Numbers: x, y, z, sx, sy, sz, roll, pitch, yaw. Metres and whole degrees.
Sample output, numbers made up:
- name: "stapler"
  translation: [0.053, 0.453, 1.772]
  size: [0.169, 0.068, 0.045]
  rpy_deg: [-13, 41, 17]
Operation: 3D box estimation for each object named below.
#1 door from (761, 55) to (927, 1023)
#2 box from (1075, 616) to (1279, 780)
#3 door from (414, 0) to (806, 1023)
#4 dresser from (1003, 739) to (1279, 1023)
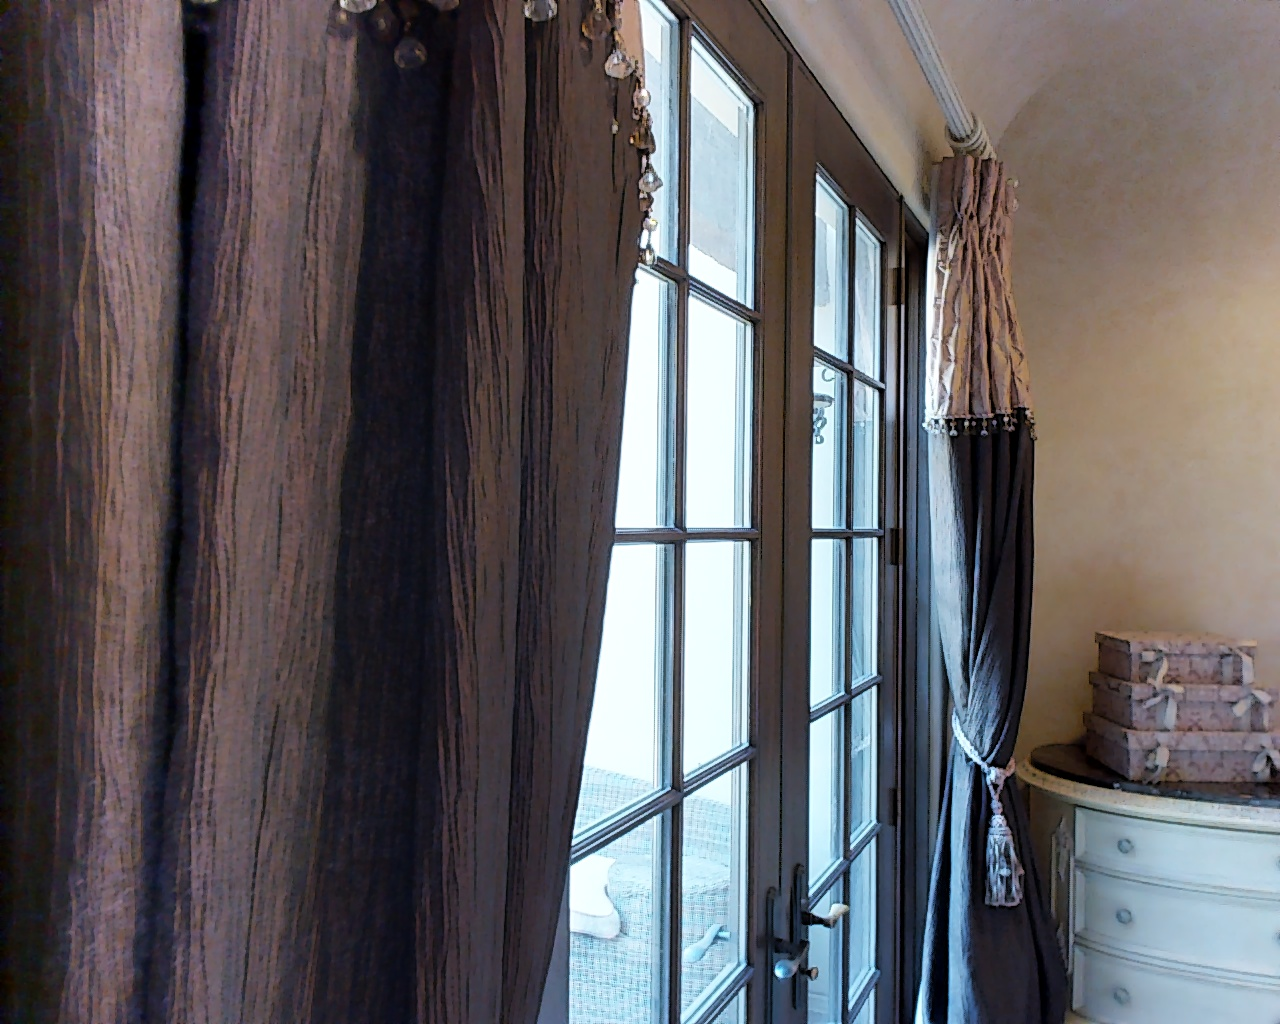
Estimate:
- name: "door"
  translation: [0.450, 0.430, 2.210]
  size: [0.110, 2.350, 0.960]
  rpy_deg: [1, -1, 23]
- name: "box"
  translation: [1.610, 0.530, 3.140]
  size: [0.510, 0.410, 0.390]
  rpy_deg: [1, -1, 2]
- name: "door"
  translation: [0.030, 0.390, 1.360]
  size: [0.090, 2.350, 0.940]
  rpy_deg: [1, -1, 23]
- name: "dresser"
  translation: [1.590, 1.180, 3.010]
  size: [1.040, 0.900, 0.480]
  rpy_deg: [1, -1, 23]
